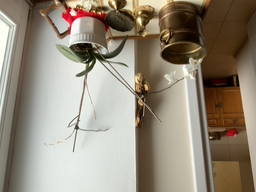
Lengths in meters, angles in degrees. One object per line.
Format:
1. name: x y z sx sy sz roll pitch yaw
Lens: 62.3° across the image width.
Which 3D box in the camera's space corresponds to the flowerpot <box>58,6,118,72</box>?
1. flowerpot: -0.180 -0.270 1.040 0.240 0.250 0.180 -1 164 4
